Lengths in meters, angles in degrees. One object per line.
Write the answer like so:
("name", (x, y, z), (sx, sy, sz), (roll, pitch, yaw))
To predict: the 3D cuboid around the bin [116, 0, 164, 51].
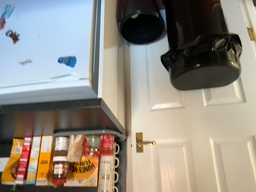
("bin", (0.090, -0.530, 1.430), (0.270, 0.280, 0.330), (-5, 158, 9))
